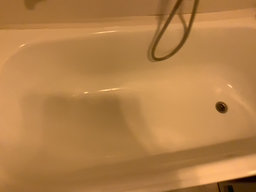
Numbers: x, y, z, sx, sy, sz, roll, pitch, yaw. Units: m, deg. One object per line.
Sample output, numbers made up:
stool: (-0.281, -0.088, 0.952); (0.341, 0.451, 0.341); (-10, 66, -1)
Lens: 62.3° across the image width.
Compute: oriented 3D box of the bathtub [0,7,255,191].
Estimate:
bathtub: (0.170, 0.060, 1.050); (1.430, 0.550, 0.680); (-7, 70, -7)
